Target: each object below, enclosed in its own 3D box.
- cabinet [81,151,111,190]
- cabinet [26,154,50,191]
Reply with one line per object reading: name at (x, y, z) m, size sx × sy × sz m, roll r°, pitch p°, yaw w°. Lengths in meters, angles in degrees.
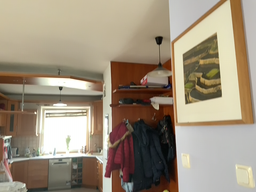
cabinet at (-0.880, 2.060, 5.970) m, size 0.520 × 0.890 × 0.680 m, roll -6°, pitch -10°, yaw 28°
cabinet at (-2.400, 2.050, 5.710) m, size 0.510 × 0.870 × 0.580 m, roll 1°, pitch -9°, yaw -15°
